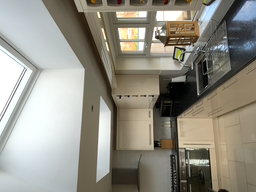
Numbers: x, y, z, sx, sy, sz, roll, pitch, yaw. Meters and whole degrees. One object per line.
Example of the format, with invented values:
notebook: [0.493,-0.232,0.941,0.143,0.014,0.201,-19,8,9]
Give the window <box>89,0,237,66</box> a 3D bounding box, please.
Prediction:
window: [0.310,-0.850,2.480,2.090,1.250,0.340,84,-174,-79]
